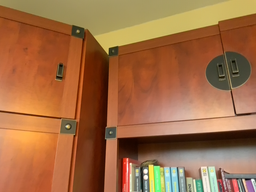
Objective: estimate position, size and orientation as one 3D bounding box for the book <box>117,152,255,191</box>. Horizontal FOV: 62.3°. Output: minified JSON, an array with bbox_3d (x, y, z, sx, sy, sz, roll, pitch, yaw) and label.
[{"bbox_3d":[0.430,0.390,0.850,0.900,0.290,0.310,-7,-22,21],"label":"book"}]
